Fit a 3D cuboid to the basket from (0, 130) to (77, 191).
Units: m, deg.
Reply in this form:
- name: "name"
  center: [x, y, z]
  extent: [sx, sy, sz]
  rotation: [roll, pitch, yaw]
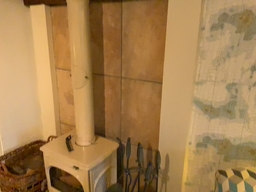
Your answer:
- name: "basket"
  center: [-0.800, 0.610, 1.770]
  extent: [0.460, 0.360, 0.550]
  rotation: [11, 20, 29]

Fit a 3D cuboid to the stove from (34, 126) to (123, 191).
- name: "stove"
  center: [-0.330, 0.590, 1.520]
  extent: [0.440, 0.560, 0.390]
  rotation: [11, 19, 28]
